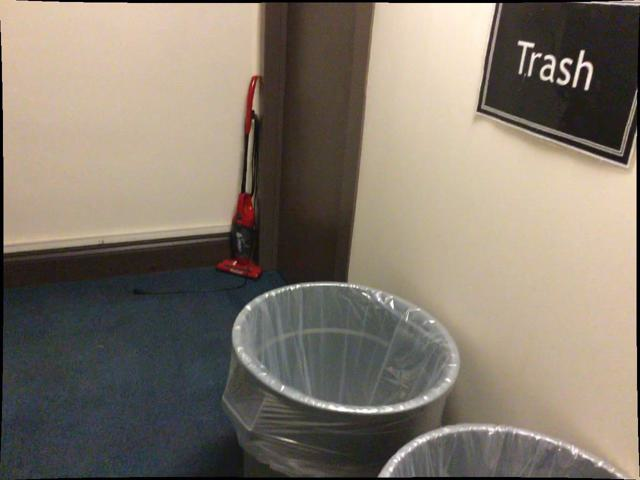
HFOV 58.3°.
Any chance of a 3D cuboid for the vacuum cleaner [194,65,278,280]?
[{"bbox_3d":[-0.420,-0.330,2.900,0.290,1.011,0.260,15,27,22],"label":"vacuum cleaner"}]
